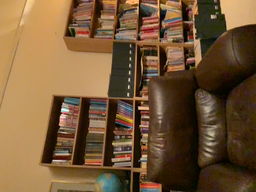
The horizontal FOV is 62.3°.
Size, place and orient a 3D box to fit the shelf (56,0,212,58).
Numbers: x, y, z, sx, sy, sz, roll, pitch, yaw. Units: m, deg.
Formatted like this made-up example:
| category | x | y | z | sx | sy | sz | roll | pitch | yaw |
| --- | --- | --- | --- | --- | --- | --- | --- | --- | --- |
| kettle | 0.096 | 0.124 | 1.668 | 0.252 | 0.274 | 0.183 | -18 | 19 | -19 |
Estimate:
| category | x | y | z | sx | sy | sz | roll | pitch | yaw |
| --- | --- | --- | --- | --- | --- | --- | --- | --- | --- |
| shelf | 0.100 | -1.080 | 3.100 | 0.310 | 2.060 | 0.860 | 98 | 176 | -68 |

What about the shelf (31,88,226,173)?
| category | x | y | z | sx | sy | sz | roll | pitch | yaw |
| --- | --- | --- | --- | --- | --- | --- | --- | --- | --- |
| shelf | 0.030 | 0.410 | 2.520 | 0.280 | 2.060 | 0.850 | 98 | 176 | -68 |

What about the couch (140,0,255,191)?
| category | x | y | z | sx | sy | sz | roll | pitch | yaw |
| --- | --- | --- | --- | --- | --- | --- | --- | --- | --- |
| couch | 0.630 | 0.200 | 1.490 | 1.080 | 0.940 | 1.140 | 101 | 172 | -78 |
